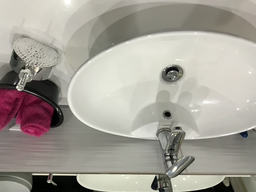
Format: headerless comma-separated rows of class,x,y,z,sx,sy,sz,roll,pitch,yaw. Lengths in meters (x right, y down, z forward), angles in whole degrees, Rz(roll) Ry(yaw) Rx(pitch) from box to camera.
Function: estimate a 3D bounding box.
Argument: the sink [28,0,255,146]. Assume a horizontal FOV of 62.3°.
sink,0.080,-0.030,0.610,0.590,0.140,0.370,3,133,-6
